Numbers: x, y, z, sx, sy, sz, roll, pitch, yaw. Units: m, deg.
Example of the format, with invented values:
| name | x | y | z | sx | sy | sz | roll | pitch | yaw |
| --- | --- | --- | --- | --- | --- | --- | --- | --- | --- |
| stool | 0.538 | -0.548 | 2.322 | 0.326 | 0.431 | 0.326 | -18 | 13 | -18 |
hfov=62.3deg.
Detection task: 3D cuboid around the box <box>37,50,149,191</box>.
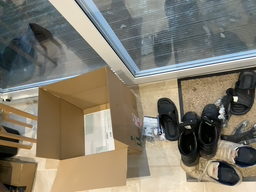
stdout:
| name | x | y | z | sx | sy | sz | roll | pitch | yaw |
| --- | --- | --- | --- | --- | --- | --- | --- | --- | --- |
| box | -0.170 | 0.180 | 1.150 | 0.420 | 0.360 | 0.670 | -11 | 67 | 17 |
